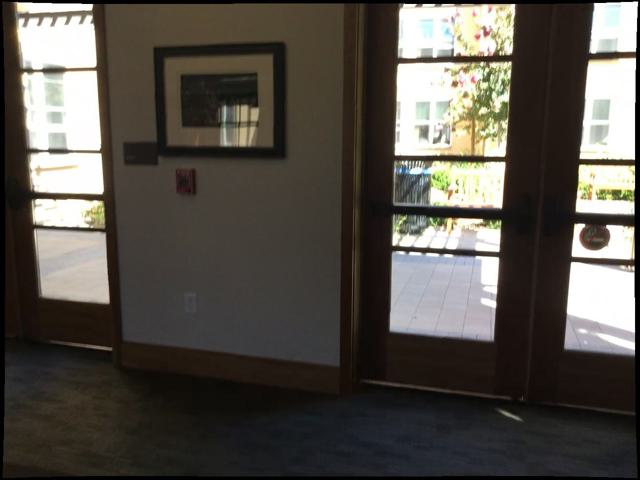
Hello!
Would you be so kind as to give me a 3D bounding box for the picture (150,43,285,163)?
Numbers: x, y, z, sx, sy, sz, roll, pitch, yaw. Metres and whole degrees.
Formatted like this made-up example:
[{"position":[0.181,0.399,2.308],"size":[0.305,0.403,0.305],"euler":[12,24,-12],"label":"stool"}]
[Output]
[{"position":[-0.529,-0.711,3.000],"size":[0.699,0.581,0.070],"euler":[5,17,15],"label":"picture"}]
